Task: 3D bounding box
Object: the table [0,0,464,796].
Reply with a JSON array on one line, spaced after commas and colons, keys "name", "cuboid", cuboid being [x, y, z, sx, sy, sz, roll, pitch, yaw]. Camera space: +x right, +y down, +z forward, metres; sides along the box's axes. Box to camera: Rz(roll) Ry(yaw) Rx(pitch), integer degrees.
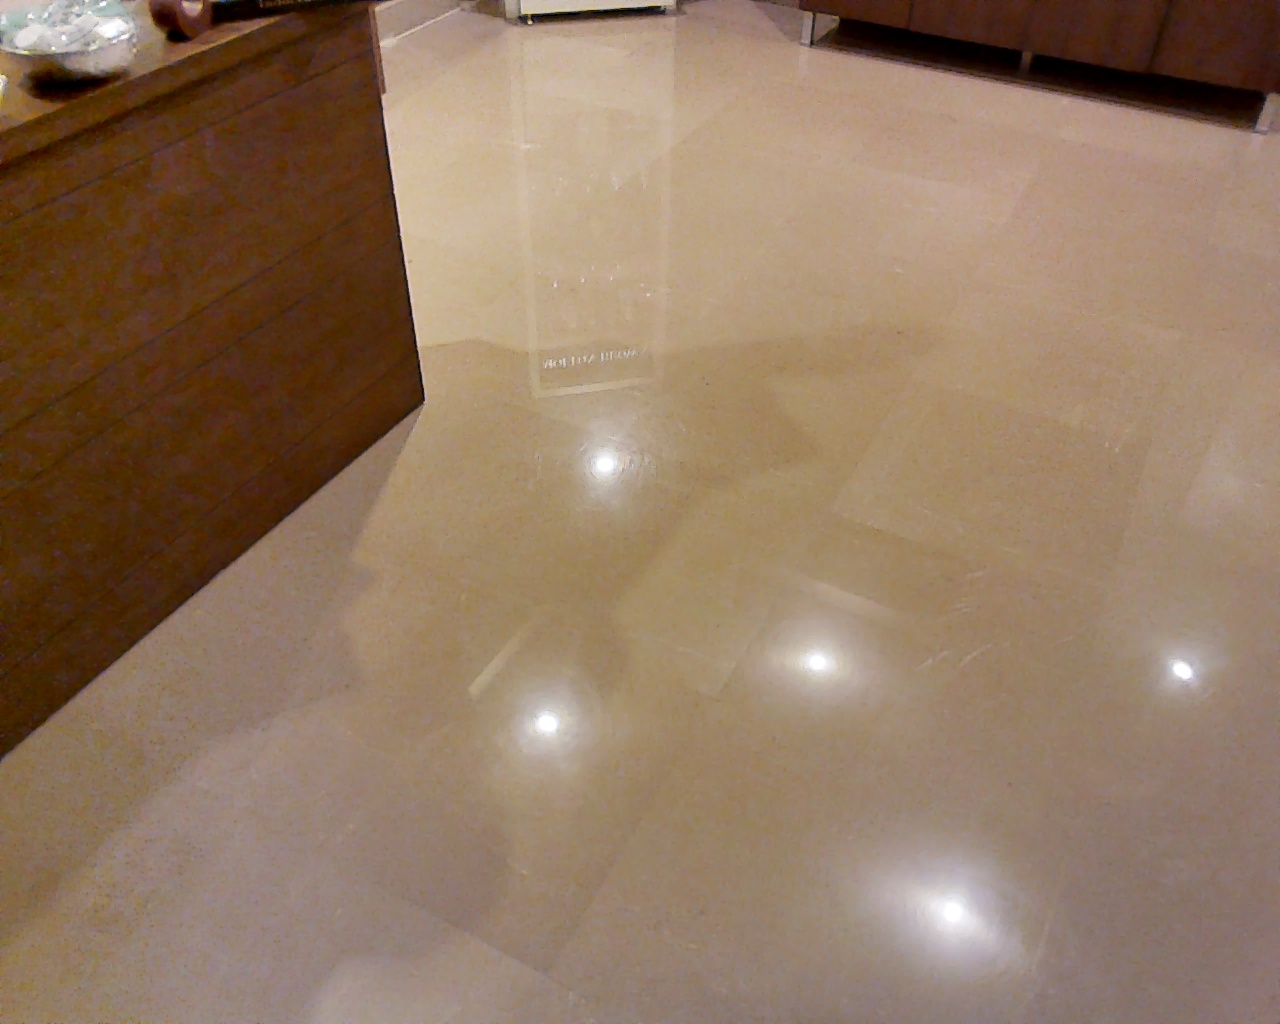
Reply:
[{"name": "table", "cuboid": [-0.920, -0.260, 1.930, 0.250, 1.000, 1.540, 21, 45, 21]}]
